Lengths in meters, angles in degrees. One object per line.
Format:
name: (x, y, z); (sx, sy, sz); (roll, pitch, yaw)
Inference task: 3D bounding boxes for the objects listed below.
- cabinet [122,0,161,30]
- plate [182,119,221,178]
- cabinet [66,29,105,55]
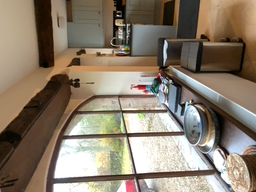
cabinet: (0.330, -2.230, 5.650); (0.570, 0.900, 0.860); (-111, 22, -70)
plate: (0.590, 0.420, 1.750); (0.330, 0.140, 0.350); (-115, 26, -73)
cabinet: (-1.140, -1.490, 5.820); (0.370, 0.990, 0.640); (-111, 22, -70)
